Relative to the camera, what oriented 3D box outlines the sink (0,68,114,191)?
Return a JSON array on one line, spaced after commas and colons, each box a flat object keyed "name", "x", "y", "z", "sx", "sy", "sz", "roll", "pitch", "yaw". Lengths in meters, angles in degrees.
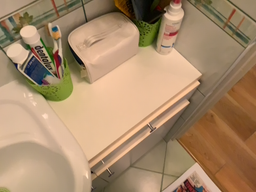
[{"name": "sink", "x": -0.330, "y": 0.250, "z": 0.480, "sx": 0.500, "sy": 0.200, "sz": 0.380, "roll": -35, "pitch": 71, "yaw": -15}]
